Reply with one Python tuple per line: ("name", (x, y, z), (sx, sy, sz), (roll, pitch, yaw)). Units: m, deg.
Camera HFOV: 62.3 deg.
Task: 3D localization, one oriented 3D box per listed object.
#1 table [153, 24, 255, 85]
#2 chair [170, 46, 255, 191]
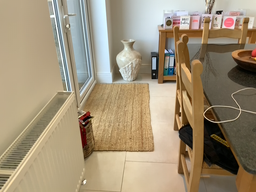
("table", (1.040, -0.620, 3.120), (1.290, 0.770, 0.450), (2, 27, 4))
("chair", (0.520, 0.240, 1.230), (0.440, 0.950, 0.430), (1, 27, 4))
